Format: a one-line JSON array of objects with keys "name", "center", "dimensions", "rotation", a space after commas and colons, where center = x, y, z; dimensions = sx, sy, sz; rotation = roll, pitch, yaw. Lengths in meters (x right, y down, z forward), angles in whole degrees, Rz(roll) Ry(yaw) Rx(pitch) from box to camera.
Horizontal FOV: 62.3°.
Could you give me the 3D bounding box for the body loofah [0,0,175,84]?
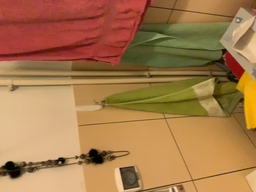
[{"name": "body loofah", "center": [-0.170, -0.250, 0.600], "dimensions": [0.420, 0.500, 0.210], "rotation": [115, 147, -49]}]
